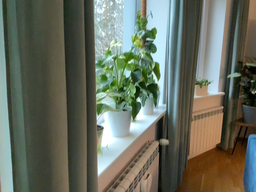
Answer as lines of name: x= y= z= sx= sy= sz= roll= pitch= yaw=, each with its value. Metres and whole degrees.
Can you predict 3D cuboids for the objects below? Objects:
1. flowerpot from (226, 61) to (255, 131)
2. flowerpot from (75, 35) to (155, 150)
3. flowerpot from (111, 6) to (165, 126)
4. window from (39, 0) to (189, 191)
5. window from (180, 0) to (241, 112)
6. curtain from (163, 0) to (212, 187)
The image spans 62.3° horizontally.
flowerpot: x=1.820 y=-0.050 z=3.290 sx=0.430 sy=0.950 sz=0.760 roll=7 pitch=12 yaw=25
flowerpot: x=-0.080 y=-0.050 z=1.460 sx=0.410 sy=0.670 sz=0.360 roll=6 pitch=12 yaw=24
flowerpot: x=0.090 y=-0.260 z=1.910 sx=0.340 sy=0.940 sz=0.360 roll=6 pitch=12 yaw=23
window: x=0.130 y=-0.570 z=1.380 sx=0.300 sy=1.570 sz=1.570 roll=6 pitch=12 yaw=22
window: x=1.160 y=-0.740 z=2.920 sx=0.950 sy=1.790 sz=0.230 roll=-8 pitch=14 yaw=-41
curtain: x=0.730 y=-0.470 z=2.470 sx=0.300 sy=2.870 sz=0.700 roll=6 pitch=12 yaw=23
